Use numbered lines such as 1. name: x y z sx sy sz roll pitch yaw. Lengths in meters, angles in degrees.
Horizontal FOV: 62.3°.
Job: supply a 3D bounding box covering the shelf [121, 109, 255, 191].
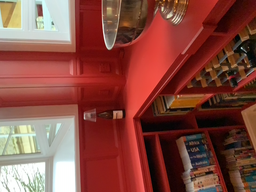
1. shelf: 0.610 0.960 1.590 0.510 1.090 1.590 116 149 -62
